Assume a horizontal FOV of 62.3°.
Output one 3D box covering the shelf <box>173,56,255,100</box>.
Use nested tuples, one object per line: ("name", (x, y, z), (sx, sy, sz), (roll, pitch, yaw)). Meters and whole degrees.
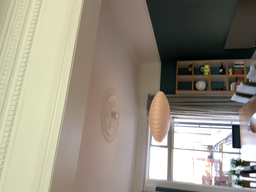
("shelf", (2.250, -0.460, 5.510), (0.460, 2.070, 0.980), (50, -137, -68))
